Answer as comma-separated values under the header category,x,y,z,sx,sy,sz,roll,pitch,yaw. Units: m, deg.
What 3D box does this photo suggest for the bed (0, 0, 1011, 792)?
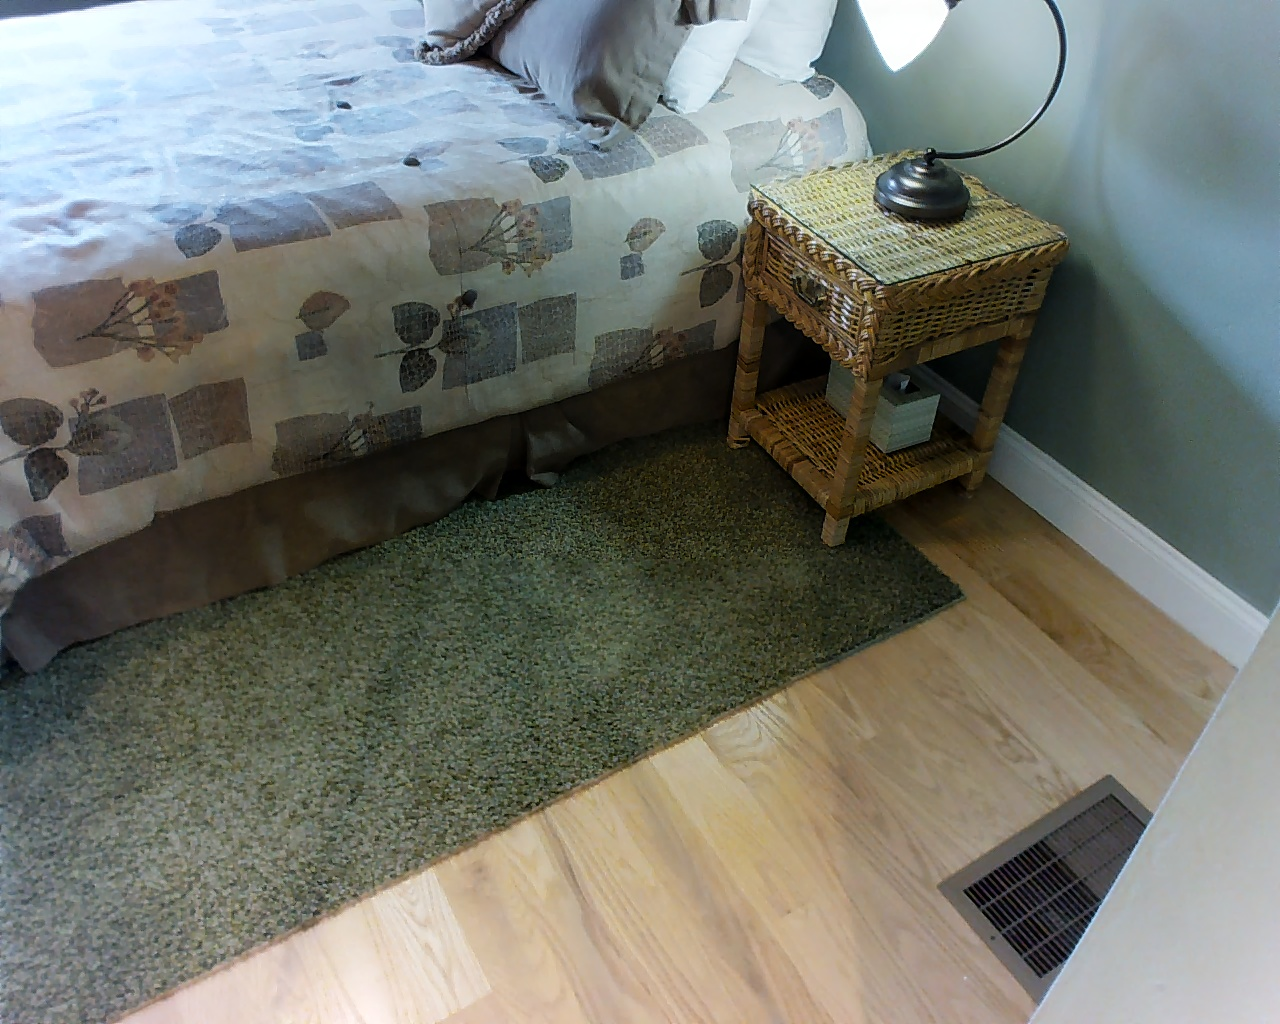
category,x,y,z,sx,sy,sz,roll,pitch,yaw
bed,-0.790,-0.840,2.480,2.210,1.100,2.030,-22,47,-22

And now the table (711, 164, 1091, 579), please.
category,x,y,z,sx,sy,sz,roll,pitch,yaw
table,0.510,-0.310,2.300,0.490,0.590,0.510,-22,47,-22
